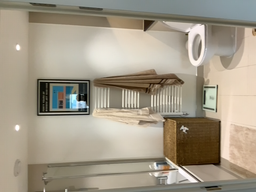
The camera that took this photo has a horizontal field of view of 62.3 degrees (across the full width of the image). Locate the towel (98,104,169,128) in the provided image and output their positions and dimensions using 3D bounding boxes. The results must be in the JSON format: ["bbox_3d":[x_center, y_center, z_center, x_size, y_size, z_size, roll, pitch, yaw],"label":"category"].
[{"bbox_3d":[0.070,0.250,2.710,0.150,0.900,0.290,180,90,-79],"label":"towel"}]

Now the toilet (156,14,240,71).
[{"bbox_3d":[0.780,-0.580,2.440,0.390,0.830,0.520,-177,87,-79],"label":"toilet"}]

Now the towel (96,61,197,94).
[{"bbox_3d":[0.240,-0.220,2.740,0.200,1.290,0.360,162,108,-79],"label":"towel"}]
